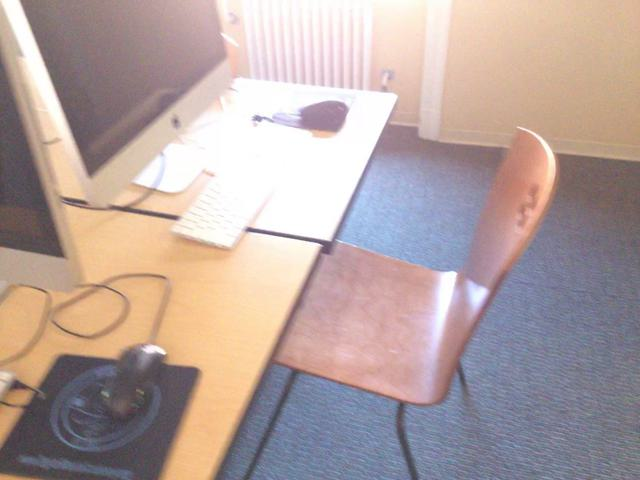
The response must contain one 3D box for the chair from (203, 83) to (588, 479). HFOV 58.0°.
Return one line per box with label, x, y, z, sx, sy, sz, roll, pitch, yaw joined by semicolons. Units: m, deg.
chair;0.140;0.170;1.210;0.520;0.810;0.480;7;37;10
